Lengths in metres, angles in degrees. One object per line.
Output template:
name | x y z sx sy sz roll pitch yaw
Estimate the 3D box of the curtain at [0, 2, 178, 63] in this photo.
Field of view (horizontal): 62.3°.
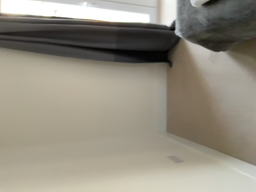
curtain | -0.600 -0.620 2.220 0.270 2.490 0.460 -172 81 -68
